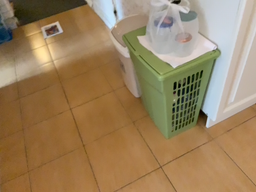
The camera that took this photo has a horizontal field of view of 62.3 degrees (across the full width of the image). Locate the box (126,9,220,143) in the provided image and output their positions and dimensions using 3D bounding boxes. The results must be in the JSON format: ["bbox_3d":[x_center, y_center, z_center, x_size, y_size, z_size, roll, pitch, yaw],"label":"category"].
[{"bbox_3d":[0.220,-0.090,1.160,0.280,0.580,0.350,-20,46,-9],"label":"box"}]

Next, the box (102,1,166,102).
[{"bbox_3d":[0.060,-0.290,1.450,0.280,0.530,0.310,-22,47,-11],"label":"box"}]
